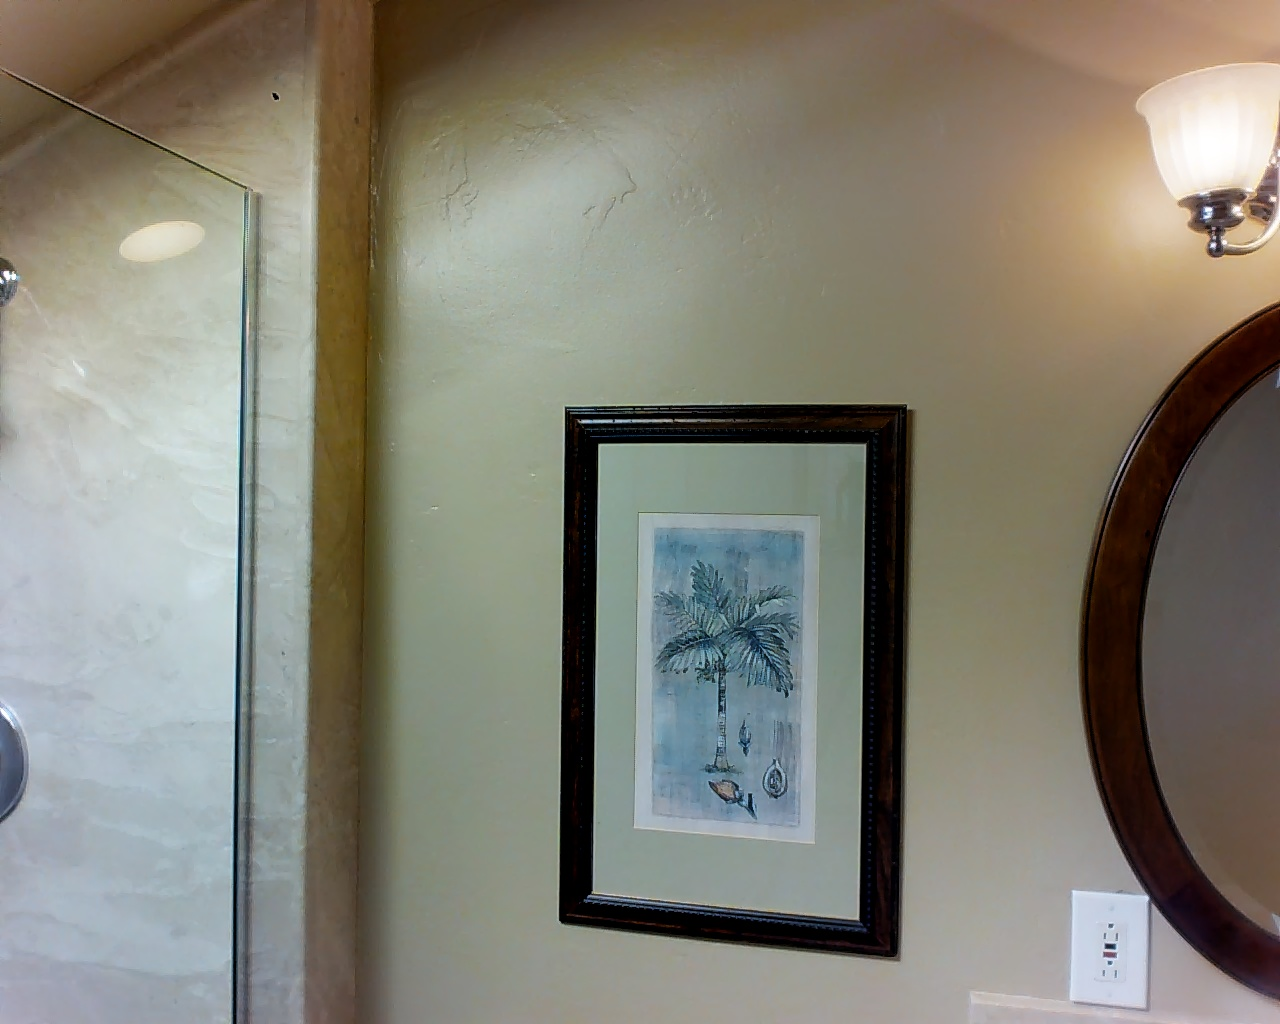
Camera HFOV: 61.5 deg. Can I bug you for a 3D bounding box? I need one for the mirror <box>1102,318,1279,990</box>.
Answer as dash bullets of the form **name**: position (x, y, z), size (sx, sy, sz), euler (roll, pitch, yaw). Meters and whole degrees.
- **mirror**: position (0.750, 0.150, 1.120), size (0.480, 0.700, 0.040), euler (1, 1, 14)
